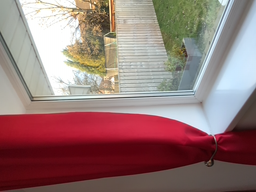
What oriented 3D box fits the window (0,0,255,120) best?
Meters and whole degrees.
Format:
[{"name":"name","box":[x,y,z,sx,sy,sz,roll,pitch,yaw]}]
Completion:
[{"name":"window","box":[-0.040,-0.620,0.460,2.060,1.050,0.180,92,174,-51]}]

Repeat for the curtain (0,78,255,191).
[{"name":"curtain","box":[0.460,0.220,0.900,0.630,2.190,0.230,92,174,-52]}]
